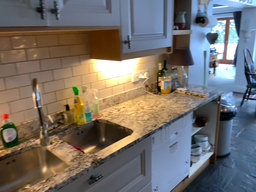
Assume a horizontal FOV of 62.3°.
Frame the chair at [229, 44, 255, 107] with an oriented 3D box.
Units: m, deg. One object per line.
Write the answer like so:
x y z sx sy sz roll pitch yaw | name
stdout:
2.490 -0.430 4.250 0.610 1.130 0.540 12 22 39 | chair
